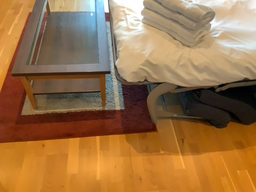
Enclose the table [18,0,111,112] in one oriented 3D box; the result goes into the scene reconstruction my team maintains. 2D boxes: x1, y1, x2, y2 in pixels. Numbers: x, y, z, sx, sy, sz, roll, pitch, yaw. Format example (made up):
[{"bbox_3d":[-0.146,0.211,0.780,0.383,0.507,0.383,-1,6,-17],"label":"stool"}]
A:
[{"bbox_3d":[-0.460,-0.460,1.870,0.570,0.430,1.160,-1,49,-7],"label":"table"}]
